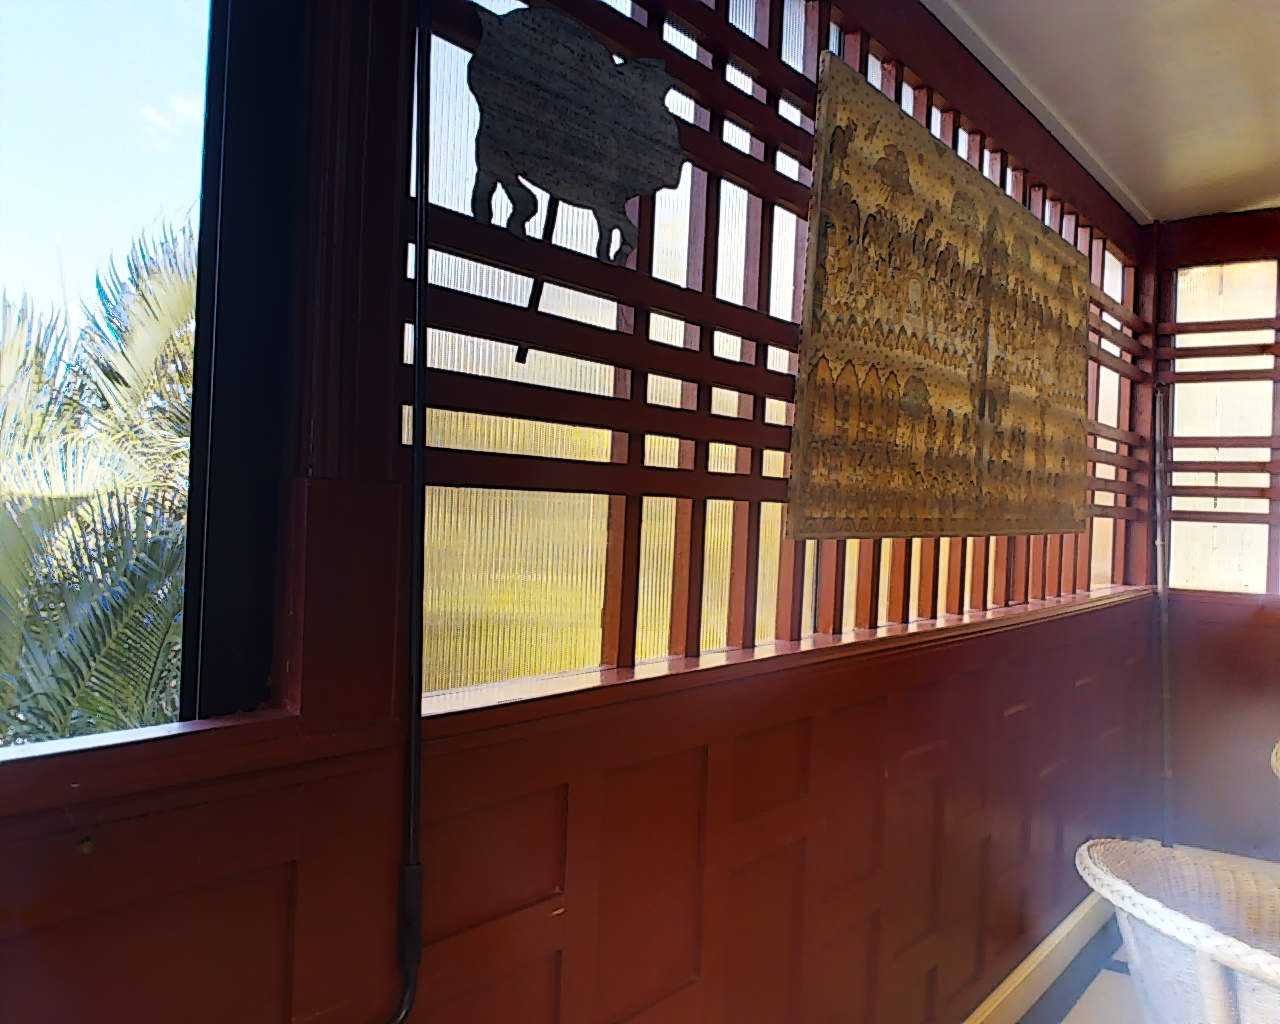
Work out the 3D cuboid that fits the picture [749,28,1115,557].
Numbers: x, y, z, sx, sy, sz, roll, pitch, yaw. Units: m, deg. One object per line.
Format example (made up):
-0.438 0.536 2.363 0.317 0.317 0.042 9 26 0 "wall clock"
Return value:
0.810 -0.340 2.530 0.110 0.860 1.880 2 0 37 "picture"
